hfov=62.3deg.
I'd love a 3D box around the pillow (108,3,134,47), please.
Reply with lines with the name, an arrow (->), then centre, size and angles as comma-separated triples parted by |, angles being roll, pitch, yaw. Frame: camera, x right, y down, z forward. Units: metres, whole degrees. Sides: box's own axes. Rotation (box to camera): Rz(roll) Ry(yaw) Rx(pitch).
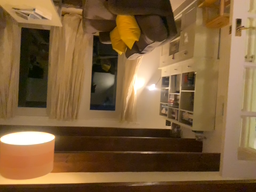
pillow -> -0.100, -0.890, 2.650 | 0.230, 0.350, 0.400 | 3, -135, -12

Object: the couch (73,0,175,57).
couch -> -0.160, -1.120, 3.030 | 1.100, 0.810, 1.510 | 3, -178, -12
